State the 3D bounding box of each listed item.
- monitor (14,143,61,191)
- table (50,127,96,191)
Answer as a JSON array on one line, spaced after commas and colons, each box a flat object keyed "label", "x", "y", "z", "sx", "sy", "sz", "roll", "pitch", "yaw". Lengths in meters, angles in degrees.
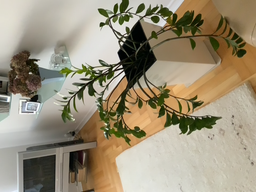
[{"label": "monitor", "x": -1.160, "y": 1.040, "z": 2.750, "sx": 0.060, "sy": 0.550, "sz": 0.810, "roll": 19, "pitch": 107, "yaw": 54}, {"label": "table", "x": -0.850, "y": 0.980, "z": 3.220, "sx": 0.550, "sy": 0.490, "sz": 0.830, "roll": 18, "pitch": 107, "yaw": 55}]
